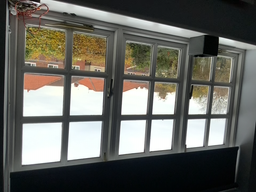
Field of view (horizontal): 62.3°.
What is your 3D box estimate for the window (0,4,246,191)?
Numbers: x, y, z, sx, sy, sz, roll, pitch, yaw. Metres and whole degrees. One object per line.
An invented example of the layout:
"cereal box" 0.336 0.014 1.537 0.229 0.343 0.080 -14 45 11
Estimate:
"window" 0.130 0.080 1.550 1.810 1.010 0.200 2 -176 -26
